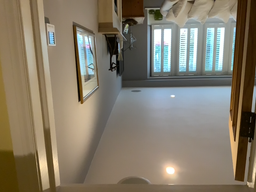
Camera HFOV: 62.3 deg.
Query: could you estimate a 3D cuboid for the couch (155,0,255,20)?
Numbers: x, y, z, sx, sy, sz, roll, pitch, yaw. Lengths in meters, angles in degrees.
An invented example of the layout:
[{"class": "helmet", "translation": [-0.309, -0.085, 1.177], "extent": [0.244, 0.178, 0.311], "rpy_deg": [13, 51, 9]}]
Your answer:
[{"class": "couch", "translation": [1.820, -2.010, 4.120], "extent": [2.460, 0.810, 1.050], "rpy_deg": [-1, -167, 2]}]
